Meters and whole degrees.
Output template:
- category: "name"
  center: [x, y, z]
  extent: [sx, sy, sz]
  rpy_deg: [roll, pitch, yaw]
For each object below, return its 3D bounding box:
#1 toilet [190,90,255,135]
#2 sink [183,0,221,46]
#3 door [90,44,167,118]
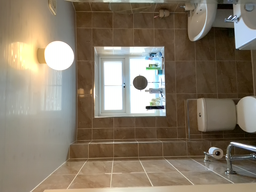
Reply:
- category: "toilet"
  center: [1.170, 0.180, 2.250]
  extent: [0.740, 0.760, 0.390]
  rpy_deg: [120, 150, -83]
- category: "sink"
  center: [0.810, -0.870, 2.400]
  extent: [0.570, 0.180, 0.430]
  rpy_deg: [120, 149, -83]
- category: "door"
  center: [-0.010, -0.190, 2.910]
  extent: [0.360, 0.980, 0.960]
  rpy_deg: [122, 147, -84]
